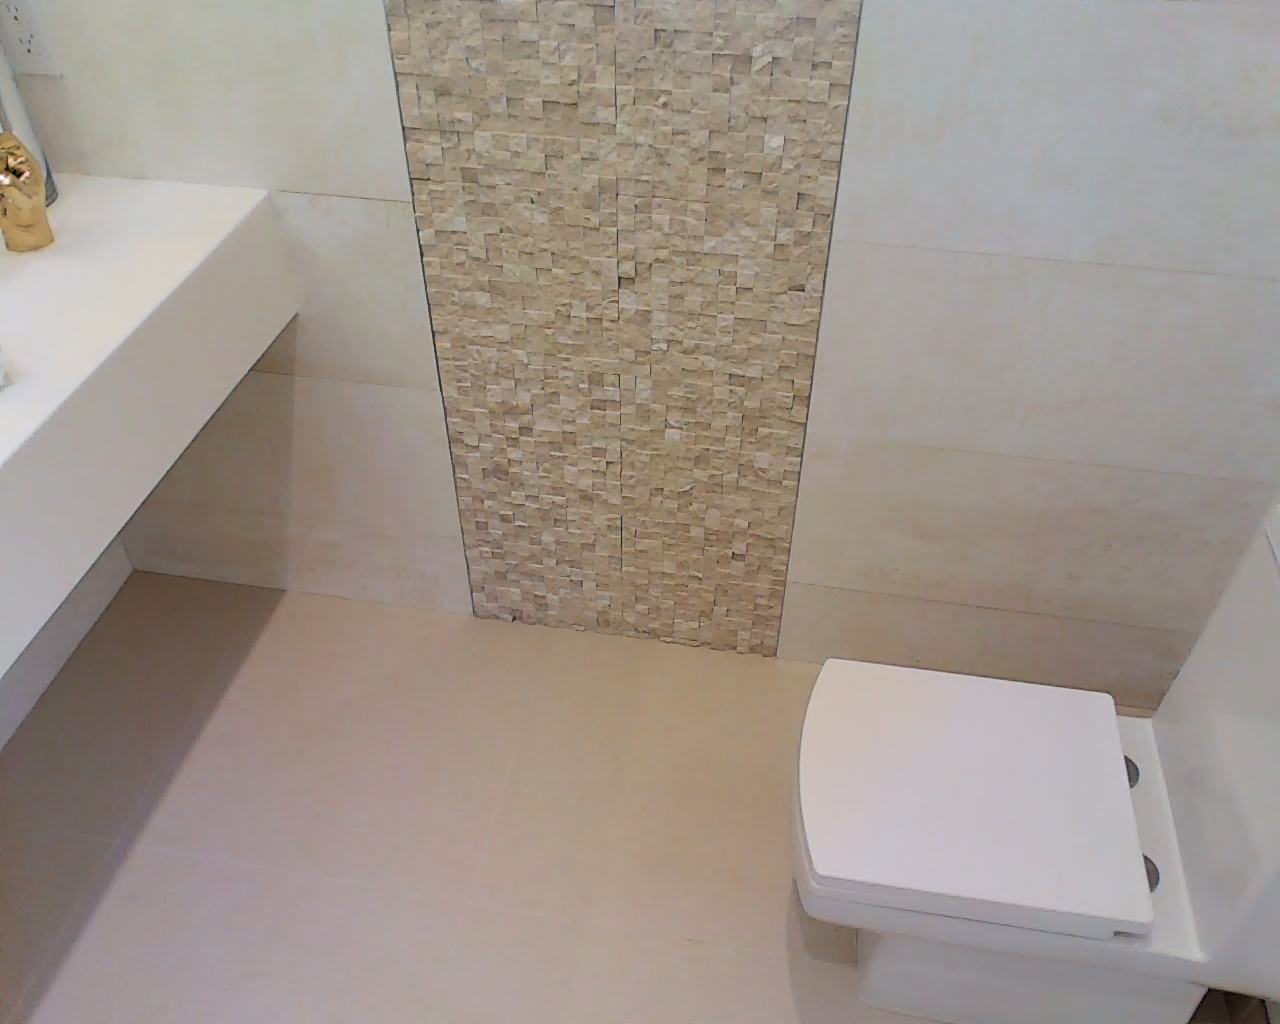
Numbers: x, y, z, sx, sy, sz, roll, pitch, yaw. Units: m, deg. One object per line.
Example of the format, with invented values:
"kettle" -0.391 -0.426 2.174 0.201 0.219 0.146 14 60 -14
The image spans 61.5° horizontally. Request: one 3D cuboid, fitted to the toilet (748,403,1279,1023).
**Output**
"toilet" 0.540 0.330 1.390 0.700 0.770 0.410 7 43 7
